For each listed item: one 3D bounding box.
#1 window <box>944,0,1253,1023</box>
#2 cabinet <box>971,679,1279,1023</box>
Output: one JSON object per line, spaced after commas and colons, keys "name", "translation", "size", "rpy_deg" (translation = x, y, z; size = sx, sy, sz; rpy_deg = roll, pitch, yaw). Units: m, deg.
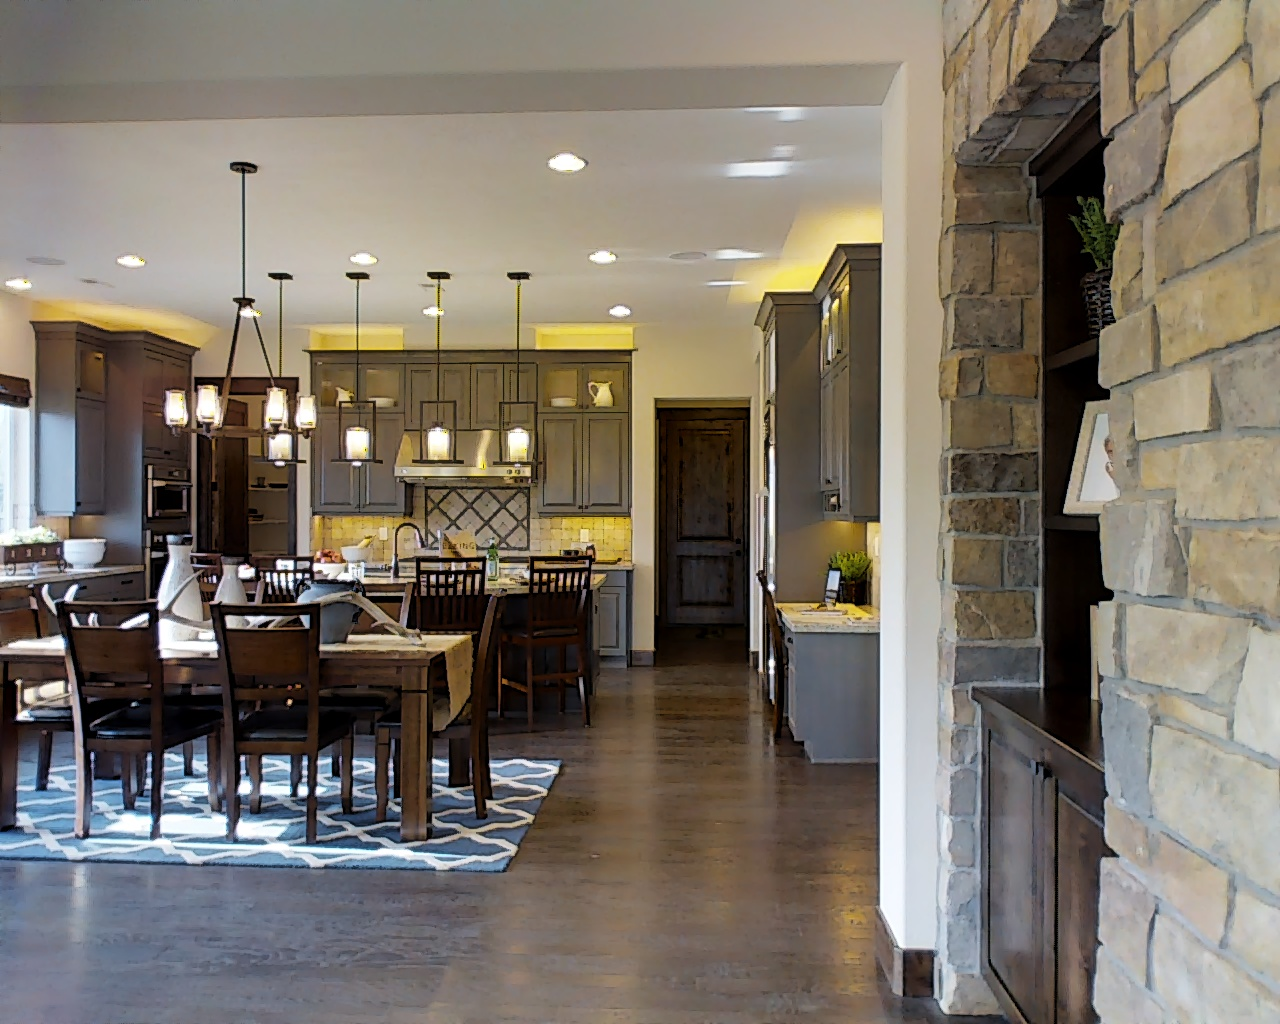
{"name": "window", "translation": [0.950, 0.200, 2.410], "size": [0.260, 2.350, 1.130], "rpy_deg": [0, 0, 3]}
{"name": "cabinet", "translation": [1.060, 0.920, 2.400], "size": [0.360, 0.920, 1.080], "rpy_deg": [0, 0, 3]}
